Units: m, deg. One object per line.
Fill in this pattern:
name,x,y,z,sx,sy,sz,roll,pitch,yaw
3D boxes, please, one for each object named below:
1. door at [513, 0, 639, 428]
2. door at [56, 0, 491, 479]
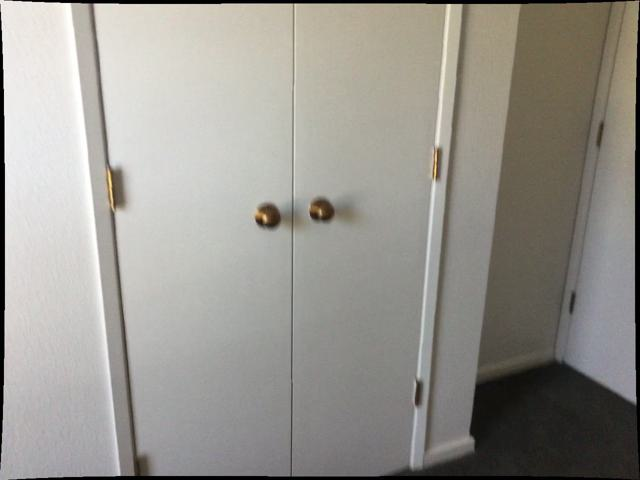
door,1.268,-0.230,2.180,0.120,1.913,0.870,-8,23,-28
door,-0.080,-0.170,1.510,1.039,2.093,0.160,-7,23,-25
